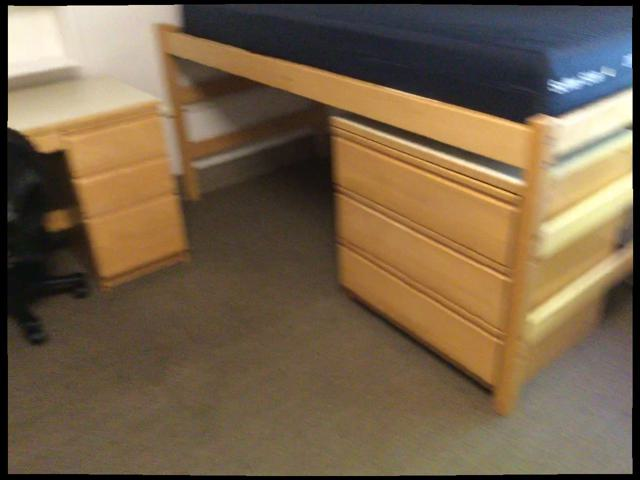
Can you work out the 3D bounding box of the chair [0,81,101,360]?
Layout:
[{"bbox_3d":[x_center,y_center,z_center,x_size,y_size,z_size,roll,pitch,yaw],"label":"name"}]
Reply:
[{"bbox_3d":[-1.307,-0.060,2.200,0.559,0.871,0.540,-23,36,-30],"label":"chair"}]
